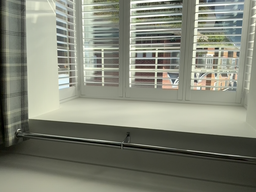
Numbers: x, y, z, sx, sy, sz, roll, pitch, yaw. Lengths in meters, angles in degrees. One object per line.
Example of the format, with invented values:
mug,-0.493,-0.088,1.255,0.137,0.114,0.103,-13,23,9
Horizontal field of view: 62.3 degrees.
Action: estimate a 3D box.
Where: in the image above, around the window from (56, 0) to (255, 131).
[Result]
window,0.200,-0.930,1.940,1.800,2.330,0.270,3,-170,16
